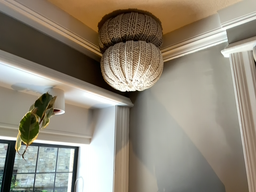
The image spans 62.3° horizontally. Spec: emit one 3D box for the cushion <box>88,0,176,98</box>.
[{"bbox_3d":[0.050,-0.310,1.610,0.400,0.480,0.530,-13,159,36],"label":"cushion"}]
